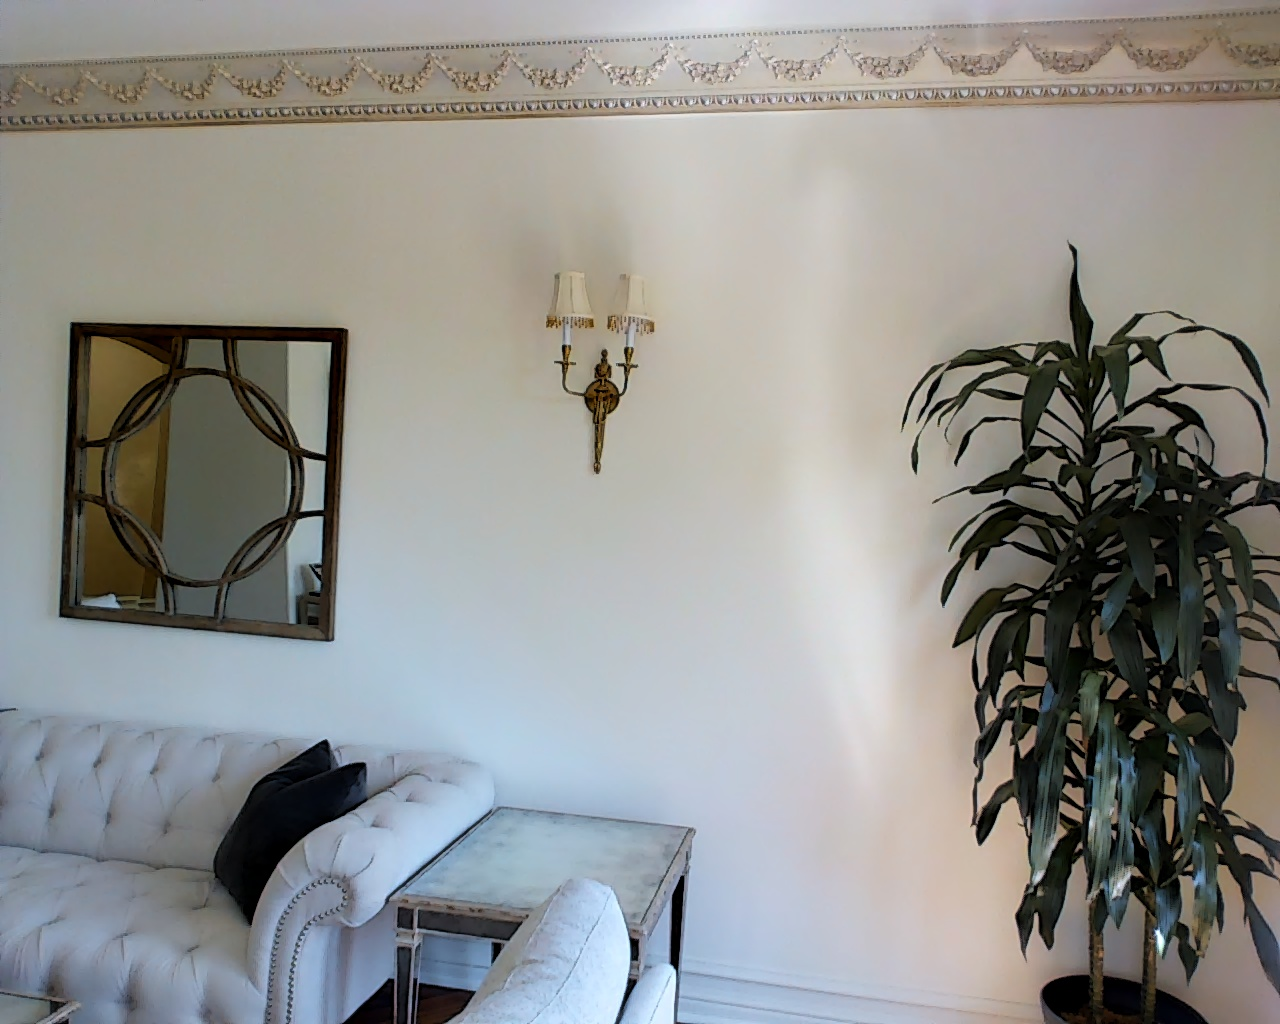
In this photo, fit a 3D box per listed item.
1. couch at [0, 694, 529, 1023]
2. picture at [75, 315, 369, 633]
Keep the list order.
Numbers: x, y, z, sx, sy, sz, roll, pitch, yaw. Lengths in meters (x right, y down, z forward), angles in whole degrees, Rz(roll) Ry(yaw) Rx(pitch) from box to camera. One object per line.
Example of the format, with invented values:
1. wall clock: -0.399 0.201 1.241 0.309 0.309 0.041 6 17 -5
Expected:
1. couch: -1.640 1.030 3.070 2.409 0.730 1.030 3 1 10
2. picture: -1.410 -0.140 3.590 1.010 1.010 0.070 3 1 12
